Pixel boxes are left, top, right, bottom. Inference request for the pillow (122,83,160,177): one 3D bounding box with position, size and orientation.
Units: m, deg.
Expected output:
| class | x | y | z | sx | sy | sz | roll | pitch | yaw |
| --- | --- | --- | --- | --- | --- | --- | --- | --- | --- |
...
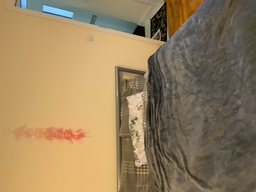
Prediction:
| class | x | y | z | sx | sy | sz | roll | pitch | yaw |
| --- | --- | --- | --- | --- | --- | --- | --- | --- | --- |
| pillow | 0.110 | 0.330 | 2.040 | 0.290 | 0.240 | 0.830 | 144 | 129 | -61 |
